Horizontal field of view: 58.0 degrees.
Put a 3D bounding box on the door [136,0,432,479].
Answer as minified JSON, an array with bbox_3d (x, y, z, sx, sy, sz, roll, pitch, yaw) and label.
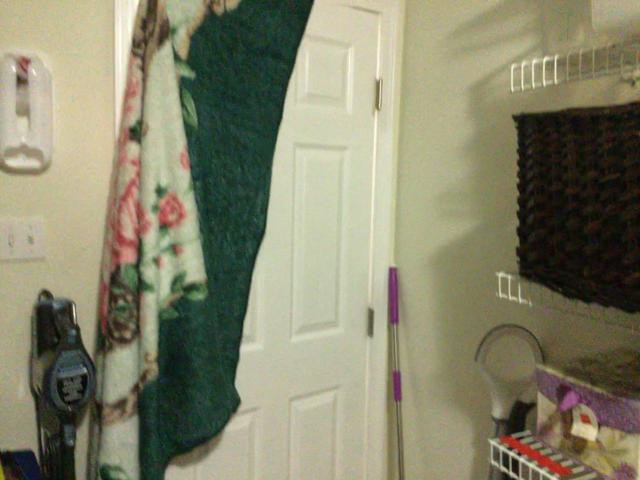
[{"bbox_3d":[-0.100,0.300,1.750,0.850,2.060,0.150,-1,6,-26],"label":"door"}]
